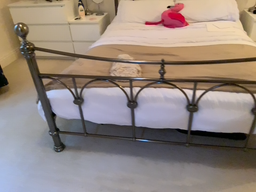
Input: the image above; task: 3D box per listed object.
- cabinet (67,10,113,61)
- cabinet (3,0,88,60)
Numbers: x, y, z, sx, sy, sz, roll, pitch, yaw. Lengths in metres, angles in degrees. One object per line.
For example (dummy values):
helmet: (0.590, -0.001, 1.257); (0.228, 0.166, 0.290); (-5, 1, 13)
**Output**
cabinet: (-0.500, -0.860, 2.990); (0.420, 0.540, 0.520); (3, 34, 10)
cabinet: (-1.110, -0.980, 3.030); (0.810, 0.760, 0.530); (3, 34, 10)
